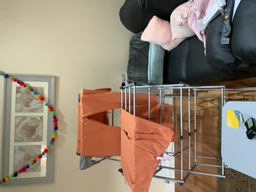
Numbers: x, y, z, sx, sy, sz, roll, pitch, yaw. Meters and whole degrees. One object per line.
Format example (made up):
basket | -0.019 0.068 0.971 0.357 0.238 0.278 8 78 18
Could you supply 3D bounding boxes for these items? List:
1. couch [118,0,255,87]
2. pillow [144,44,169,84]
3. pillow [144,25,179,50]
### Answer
couch | 0.510 -0.570 1.820 1.430 0.870 0.830 170 100 -73
pillow | 0.280 -0.330 2.160 0.210 0.210 0.380 -92 3 -78
pillow | 0.330 -0.550 2.020 0.310 0.300 0.110 12 -103 -76
